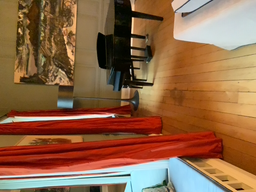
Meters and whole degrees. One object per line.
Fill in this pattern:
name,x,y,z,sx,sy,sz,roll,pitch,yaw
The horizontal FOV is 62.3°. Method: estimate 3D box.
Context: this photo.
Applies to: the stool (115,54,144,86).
stool,0.020,-0.560,4.640,0.320,0.510,0.560,120,150,-58
